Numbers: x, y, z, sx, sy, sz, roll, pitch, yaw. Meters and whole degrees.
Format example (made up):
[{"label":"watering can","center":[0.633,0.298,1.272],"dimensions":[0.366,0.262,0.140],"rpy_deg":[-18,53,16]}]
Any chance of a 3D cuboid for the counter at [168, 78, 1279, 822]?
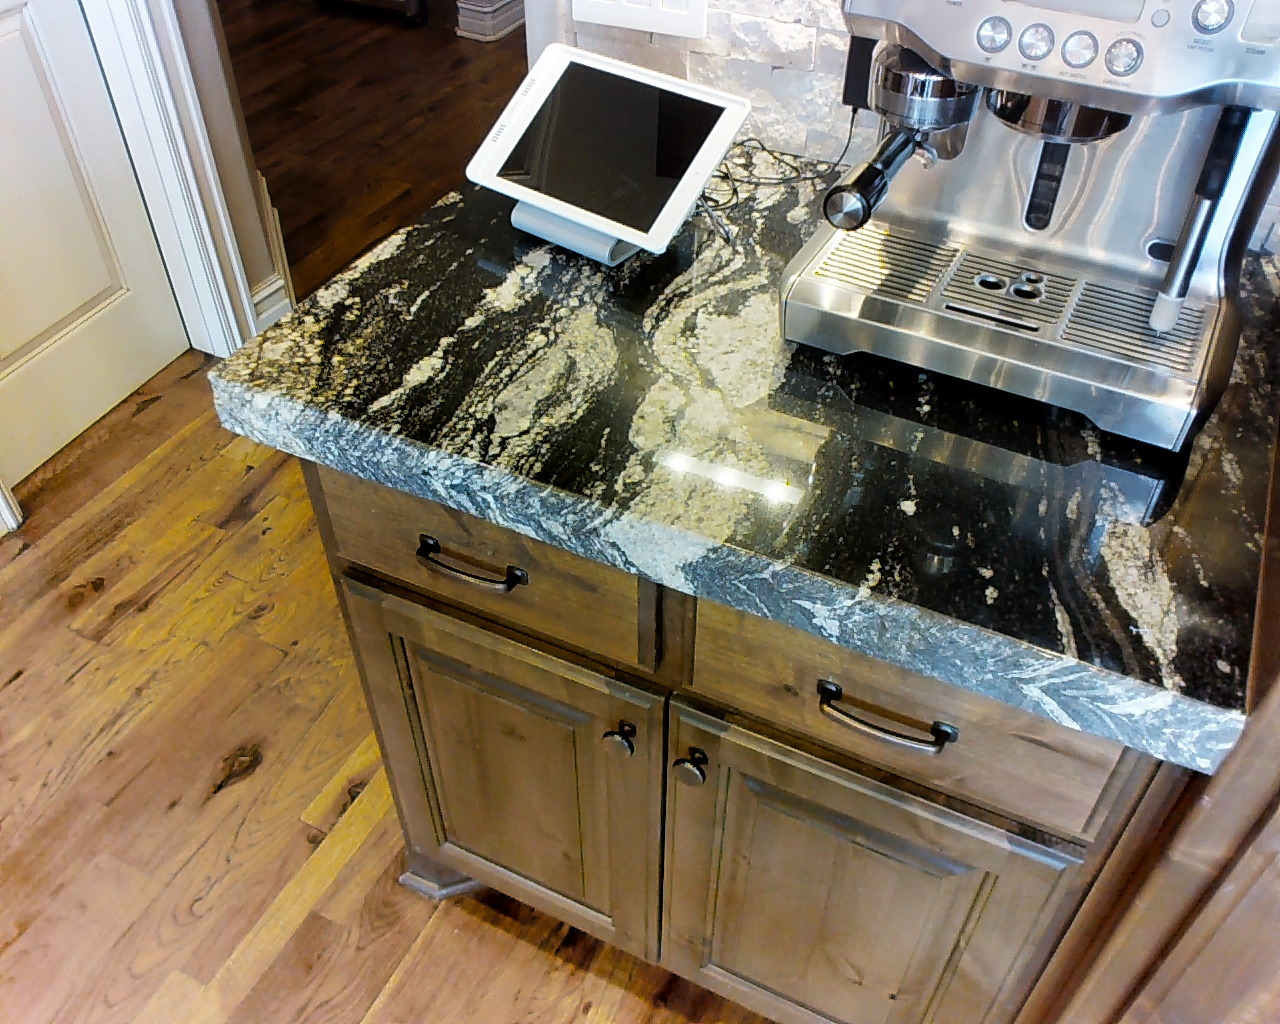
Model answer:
[{"label":"counter","center":[0.130,-0.170,1.050],"dimensions":[0.880,0.130,0.660],"rpy_deg":[19,46,19]}]
